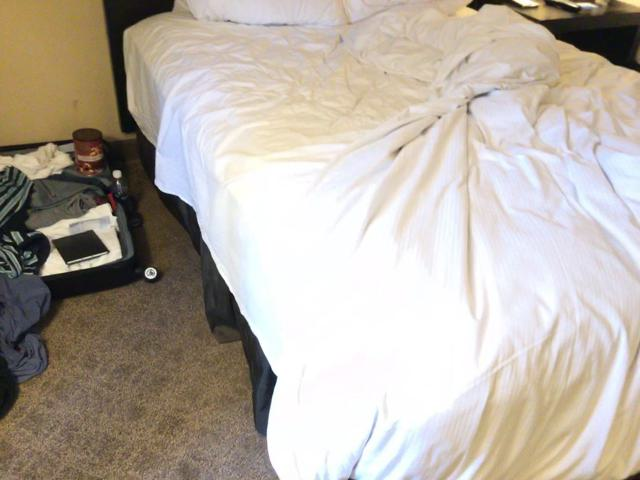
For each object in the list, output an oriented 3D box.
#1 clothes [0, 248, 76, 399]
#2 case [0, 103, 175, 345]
[{"bbox_3d":[-0.860,0.230,1.570,0.290,0.210,0.330,-15,38,-21],"label":"clothes"},{"bbox_3d":[-1.000,-0.100,1.960,0.750,0.300,0.950,-15,38,-21],"label":"case"}]
